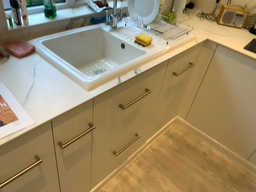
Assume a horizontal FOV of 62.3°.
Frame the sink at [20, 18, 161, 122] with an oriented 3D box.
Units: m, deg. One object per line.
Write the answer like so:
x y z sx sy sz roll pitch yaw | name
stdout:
-0.210 -0.210 1.260 0.560 0.220 0.550 35 45 27 | sink
